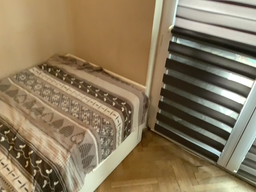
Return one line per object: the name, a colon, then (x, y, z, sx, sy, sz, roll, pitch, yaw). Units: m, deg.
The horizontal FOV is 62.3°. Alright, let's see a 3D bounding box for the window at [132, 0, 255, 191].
window: (0.810, -0.410, 0.980, 1.510, 2.670, 0.250, 24, 40, 26)
